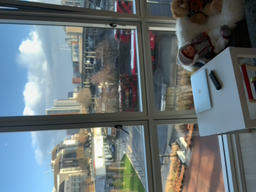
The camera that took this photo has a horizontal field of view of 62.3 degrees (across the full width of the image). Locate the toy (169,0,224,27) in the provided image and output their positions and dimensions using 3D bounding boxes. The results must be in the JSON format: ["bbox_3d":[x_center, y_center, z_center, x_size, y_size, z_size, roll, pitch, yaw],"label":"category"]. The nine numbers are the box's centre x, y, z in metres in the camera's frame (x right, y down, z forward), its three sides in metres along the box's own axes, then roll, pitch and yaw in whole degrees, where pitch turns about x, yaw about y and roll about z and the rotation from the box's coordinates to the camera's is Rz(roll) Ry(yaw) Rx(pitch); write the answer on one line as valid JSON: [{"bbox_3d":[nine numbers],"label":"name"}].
[{"bbox_3d":[0.580,-0.830,1.840,0.380,0.280,0.250,128,140,-69],"label":"toy"}]

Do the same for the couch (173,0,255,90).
[{"bbox_3d":[0.780,-0.530,1.900,0.540,0.480,0.860,141,127,-73],"label":"couch"}]
